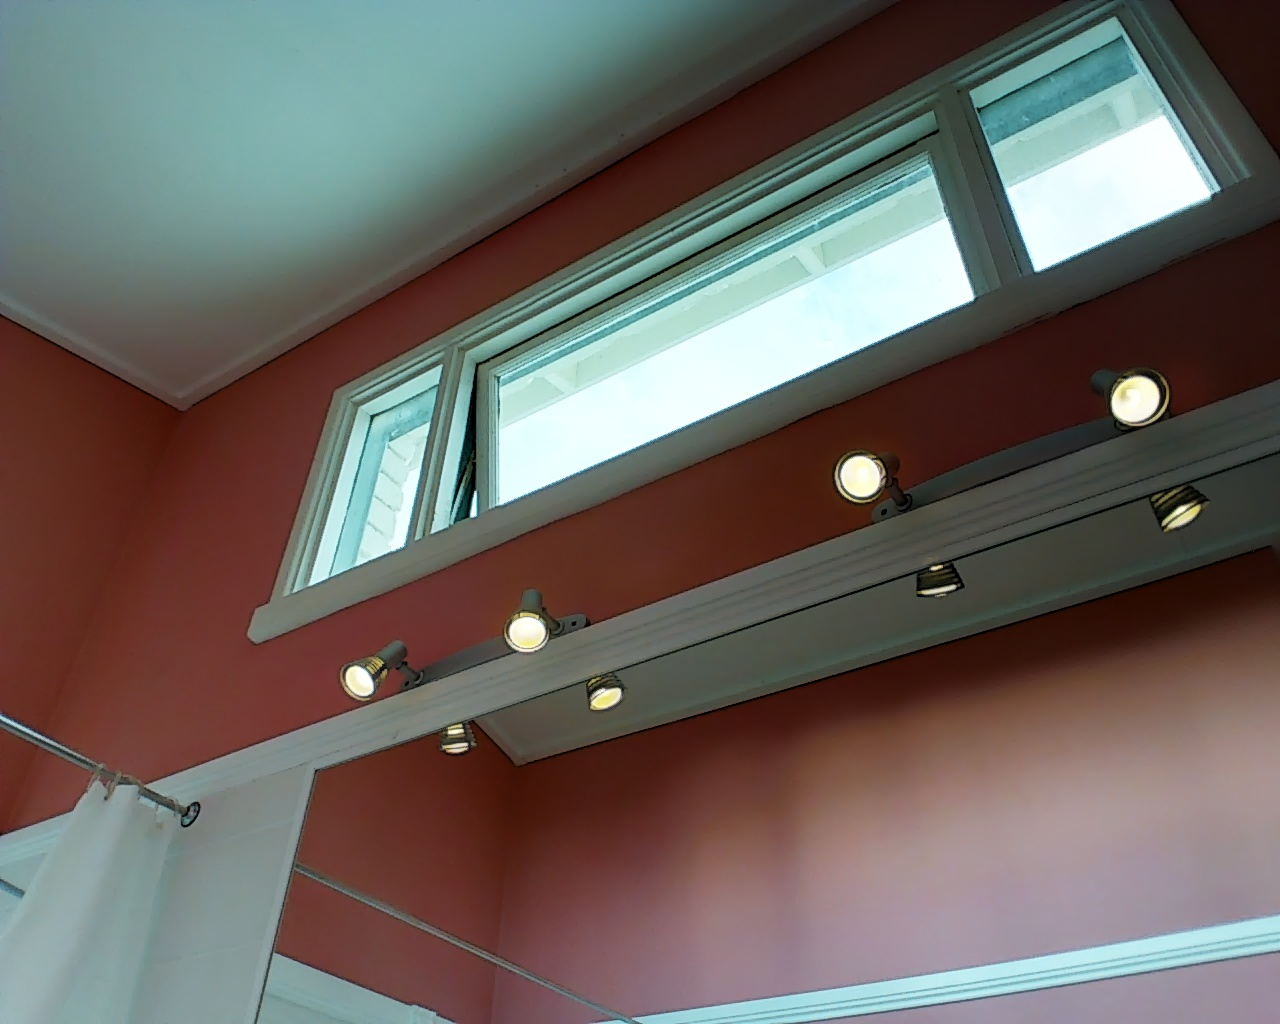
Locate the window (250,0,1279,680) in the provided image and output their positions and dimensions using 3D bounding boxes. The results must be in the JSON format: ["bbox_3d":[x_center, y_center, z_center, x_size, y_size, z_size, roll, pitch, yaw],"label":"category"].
[{"bbox_3d":[0.110,-0.310,2.070,2.029,0.730,0.180,-22,-47,25],"label":"window"}]
